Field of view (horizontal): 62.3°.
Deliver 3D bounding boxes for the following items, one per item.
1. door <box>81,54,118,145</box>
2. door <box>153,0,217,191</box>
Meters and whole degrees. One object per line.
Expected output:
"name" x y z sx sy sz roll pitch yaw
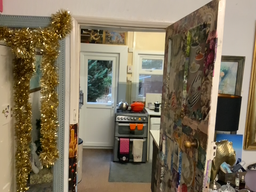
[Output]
"door" -0.600 0.090 4.440 0.710 1.870 0.050 2 6 -1
"door" 0.320 0.440 1.550 0.030 1.940 0.890 2 6 -6
